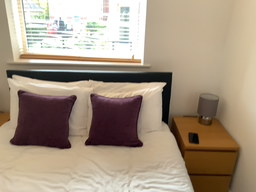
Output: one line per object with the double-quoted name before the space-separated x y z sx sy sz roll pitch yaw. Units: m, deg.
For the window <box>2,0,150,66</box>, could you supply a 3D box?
"window" -0.430 -0.920 1.770 1.230 1.310 0.070 1 22 -2
